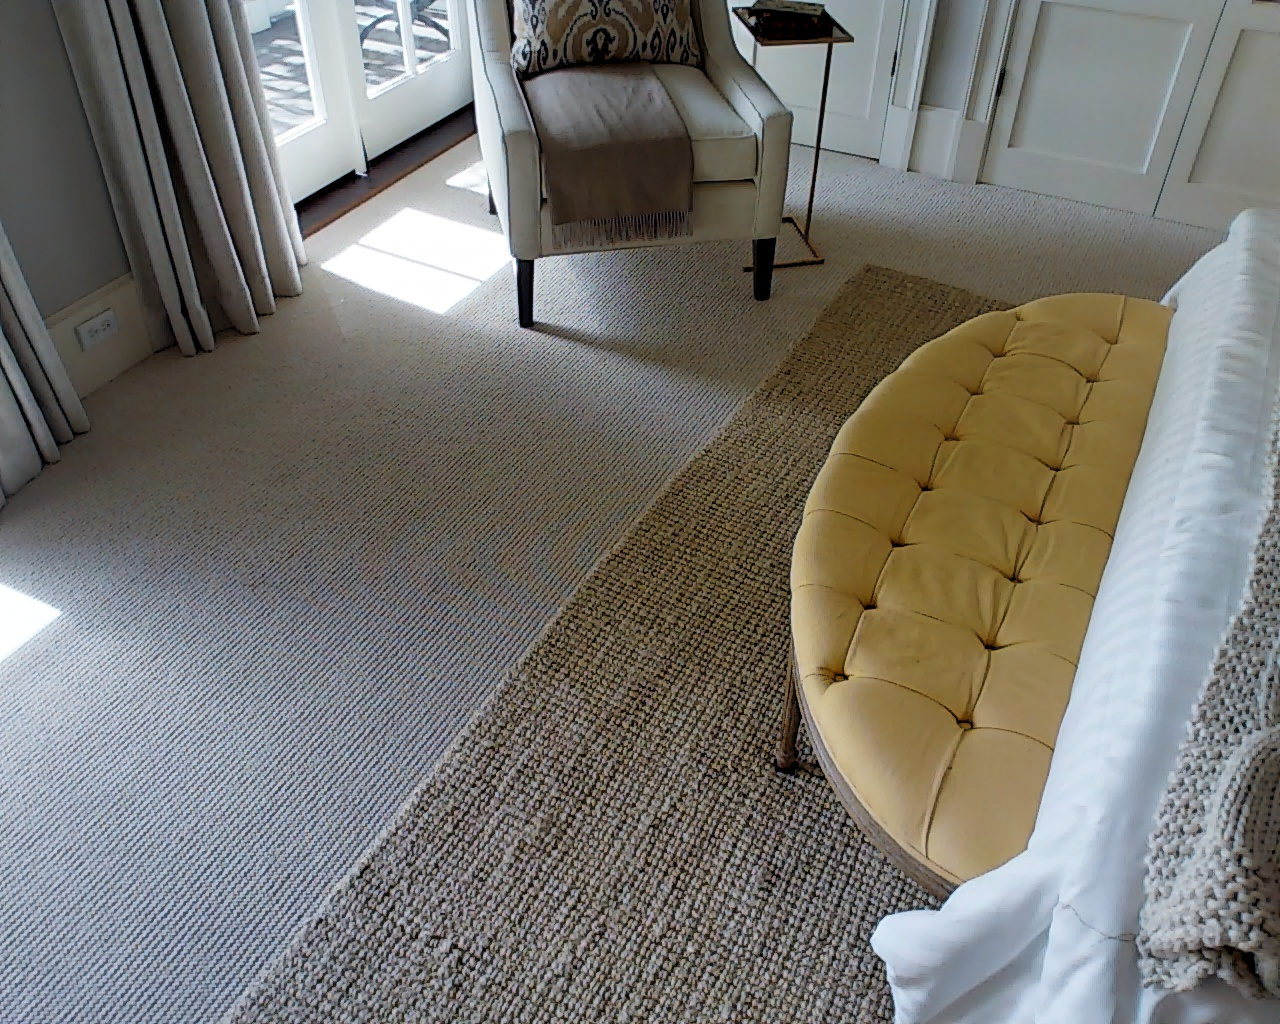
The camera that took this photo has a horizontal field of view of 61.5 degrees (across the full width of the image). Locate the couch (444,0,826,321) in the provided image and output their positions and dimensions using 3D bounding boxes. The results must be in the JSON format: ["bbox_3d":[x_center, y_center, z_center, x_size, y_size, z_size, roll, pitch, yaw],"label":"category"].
[{"bbox_3d":[-0.080,-1.280,3.050,0.860,1.020,0.970,-8,43,-10],"label":"couch"}]
